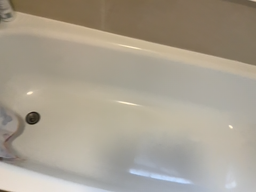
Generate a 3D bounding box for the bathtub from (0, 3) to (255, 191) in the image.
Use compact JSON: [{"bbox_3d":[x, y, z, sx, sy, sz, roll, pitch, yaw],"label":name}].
[{"bbox_3d":[0.050,0.180,1.030,1.740,0.560,0.690,12,63,-3],"label":"bathtub"}]
